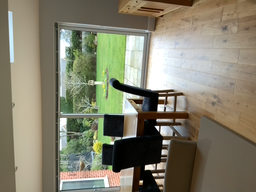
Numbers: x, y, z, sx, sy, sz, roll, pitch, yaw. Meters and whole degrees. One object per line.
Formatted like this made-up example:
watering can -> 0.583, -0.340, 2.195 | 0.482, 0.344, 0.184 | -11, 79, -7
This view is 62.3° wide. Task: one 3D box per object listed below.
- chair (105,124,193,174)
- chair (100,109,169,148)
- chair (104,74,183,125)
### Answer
chair -> 0.270, 0.730, 3.090 | 0.560, 1.110, 0.480 | -135, 48, -72
chair -> 0.080, 0.570, 3.940 | 0.680, 1.110, 0.490 | -139, 52, -73
chair -> 0.220, 0.050, 3.390 | 0.490, 1.110, 0.690 | -136, 49, -73
